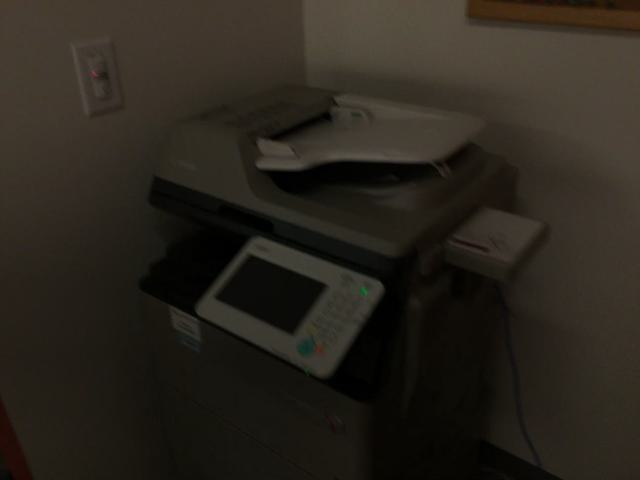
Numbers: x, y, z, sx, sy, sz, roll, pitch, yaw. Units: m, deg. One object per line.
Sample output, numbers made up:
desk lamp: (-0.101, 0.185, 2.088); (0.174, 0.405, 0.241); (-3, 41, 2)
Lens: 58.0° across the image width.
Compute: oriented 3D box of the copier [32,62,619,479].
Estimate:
copier: (0.050, 0.270, 1.240); (0.680, 1.060, 0.750); (21, 35, 33)

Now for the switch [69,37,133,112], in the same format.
switch: (-0.380, -0.290, 1.010); (0.020, 0.110, 0.090); (21, 35, 33)
